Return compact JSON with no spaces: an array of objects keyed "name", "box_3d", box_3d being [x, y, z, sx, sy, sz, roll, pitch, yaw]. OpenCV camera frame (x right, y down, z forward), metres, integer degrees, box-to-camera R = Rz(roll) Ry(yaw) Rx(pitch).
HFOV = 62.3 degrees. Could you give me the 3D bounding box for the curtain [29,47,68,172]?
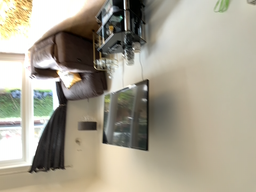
[{"name":"curtain","box_3d":[-1.540,0.220,4.090,0.640,2.240,0.330,-1,174,-23]}]
